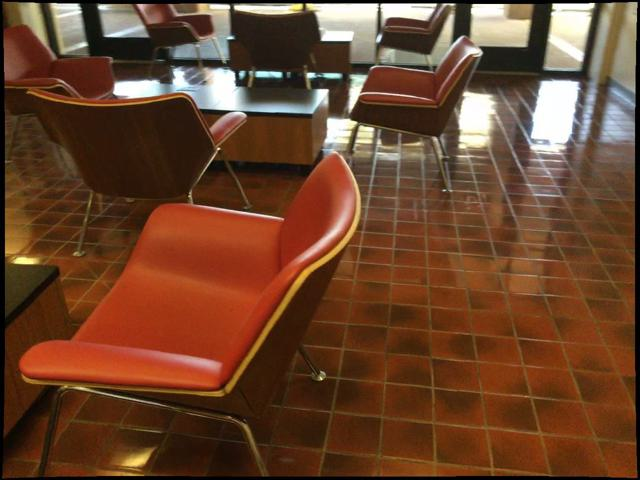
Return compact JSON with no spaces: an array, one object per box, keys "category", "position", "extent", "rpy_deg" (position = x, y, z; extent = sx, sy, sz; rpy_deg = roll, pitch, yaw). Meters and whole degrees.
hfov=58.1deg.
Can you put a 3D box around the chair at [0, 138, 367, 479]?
[{"category":"chair","position":[-0.289,0.241,1.590],"extent":[0.768,0.782,0.850],"rpy_deg":[3,28,7]}]

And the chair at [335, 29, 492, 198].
[{"category":"chair","position":[0.539,-0.812,3.540],"extent":[0.808,0.802,0.830],"rpy_deg":[3,28,7]}]

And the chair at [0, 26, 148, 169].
[{"category":"chair","position":[-1.765,-1.003,3.930],"extent":[0.768,0.752,0.840],"rpy_deg":[3,28,7]}]

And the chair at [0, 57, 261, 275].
[{"category":"chair","position":[-0.808,-0.391,2.730],"extent":[0.858,0.772,0.780],"rpy_deg":[3,28,7]}]
